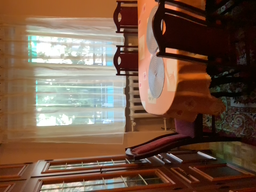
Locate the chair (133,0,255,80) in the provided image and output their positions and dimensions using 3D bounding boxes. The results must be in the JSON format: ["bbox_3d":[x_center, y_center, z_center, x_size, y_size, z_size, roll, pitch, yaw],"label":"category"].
[{"bbox_3d":[0.570,-0.350,1.490,0.450,0.980,0.400,166,104,-76],"label":"chair"}]

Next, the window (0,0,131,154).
[{"bbox_3d":[-0.850,-0.220,2.620,0.220,1.770,1.730,172,97,-76],"label":"window"}]
